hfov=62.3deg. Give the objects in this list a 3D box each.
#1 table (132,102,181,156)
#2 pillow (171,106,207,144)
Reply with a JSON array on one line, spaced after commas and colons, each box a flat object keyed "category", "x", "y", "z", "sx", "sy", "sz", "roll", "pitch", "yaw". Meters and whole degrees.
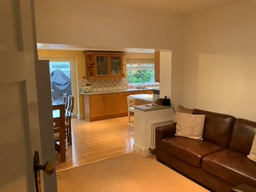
[{"category": "table", "x": 0.550, "y": 0.600, "z": 4.150, "sx": 0.750, "sy": 0.850, "sz": 0.550, "roll": -5, "pitch": 8, "yaw": -29}, {"category": "pillow", "x": 1.000, "y": 0.470, "z": 3.500, "sx": 0.480, "sy": 0.430, "sz": 0.210, "roll": 17, "pitch": 30, "yaw": 29}]
